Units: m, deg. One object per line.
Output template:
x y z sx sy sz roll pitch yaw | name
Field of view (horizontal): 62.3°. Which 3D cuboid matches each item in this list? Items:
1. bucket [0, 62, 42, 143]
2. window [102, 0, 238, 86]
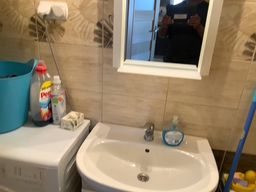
-0.700 0.010 1.100 0.340 0.290 0.310 7 23 7 | bucket
0.180 -0.490 0.920 0.530 0.820 0.220 6 23 4 | window
